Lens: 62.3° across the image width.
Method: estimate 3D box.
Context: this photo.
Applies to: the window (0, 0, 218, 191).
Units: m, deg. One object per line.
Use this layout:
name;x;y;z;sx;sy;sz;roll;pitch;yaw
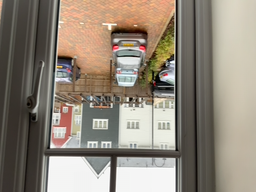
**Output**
window;-0.280;0.030;0.650;1.120;1.140;0.050;2;173;-5
